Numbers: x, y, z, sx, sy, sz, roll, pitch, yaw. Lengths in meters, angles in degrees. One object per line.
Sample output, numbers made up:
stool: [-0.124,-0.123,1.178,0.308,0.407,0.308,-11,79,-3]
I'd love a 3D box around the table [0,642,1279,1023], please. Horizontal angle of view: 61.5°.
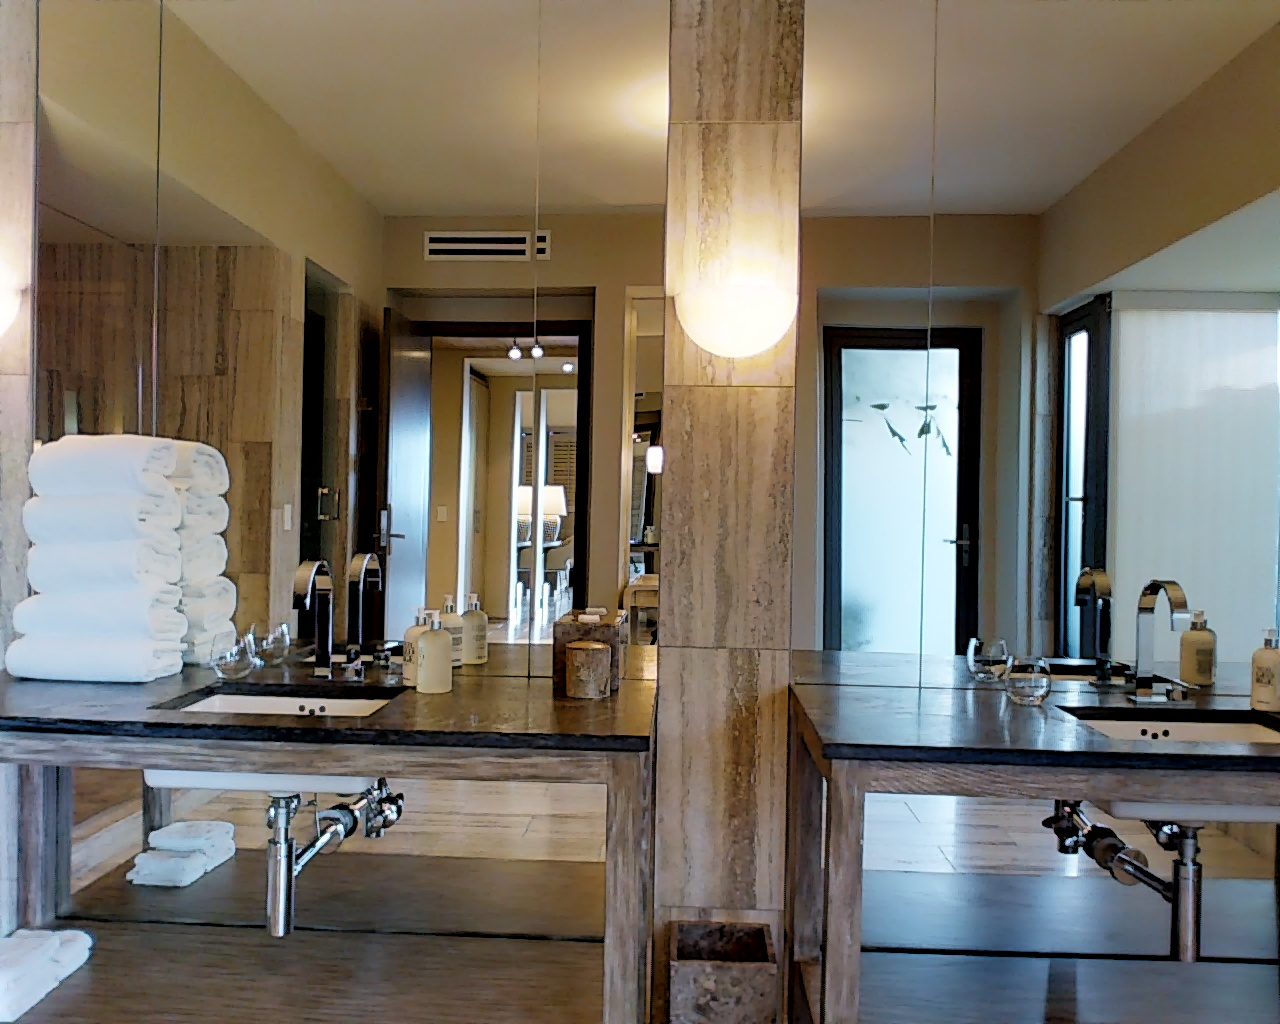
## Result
table: [0.230,0.790,2.360,3.580,0.790,0.930,1,1,2]
